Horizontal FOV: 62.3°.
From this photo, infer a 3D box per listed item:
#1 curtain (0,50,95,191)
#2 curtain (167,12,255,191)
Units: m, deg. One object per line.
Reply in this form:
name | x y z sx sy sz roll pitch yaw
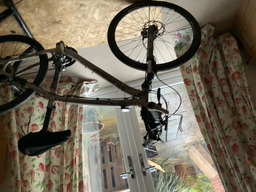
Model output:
curtain | -0.620 0.890 1.620 0.710 2.830 0.290 -14 152 0
curtain | 1.000 0.540 1.510 0.610 2.870 0.230 -15 152 3
